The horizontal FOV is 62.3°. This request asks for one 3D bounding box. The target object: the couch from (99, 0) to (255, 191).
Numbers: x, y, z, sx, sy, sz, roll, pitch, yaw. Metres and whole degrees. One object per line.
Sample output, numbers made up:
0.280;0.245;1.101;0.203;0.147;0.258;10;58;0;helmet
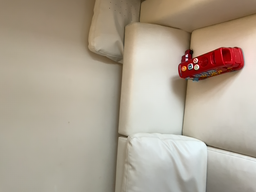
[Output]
0.430;0.690;1.300;1.090;0.790;2.720;3;89;55;couch
